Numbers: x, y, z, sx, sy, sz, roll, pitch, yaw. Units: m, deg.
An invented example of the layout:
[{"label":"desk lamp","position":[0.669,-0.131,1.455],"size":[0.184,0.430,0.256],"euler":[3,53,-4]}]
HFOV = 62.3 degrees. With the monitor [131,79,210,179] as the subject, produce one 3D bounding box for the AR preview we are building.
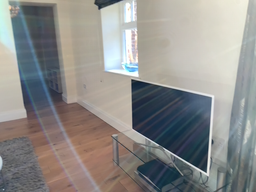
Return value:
[{"label":"monitor","position":[0.280,0.200,1.750],"size":[0.070,0.570,0.850],"euler":[-10,16,-29]}]
